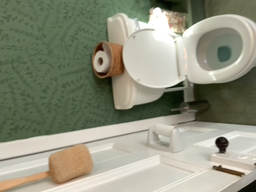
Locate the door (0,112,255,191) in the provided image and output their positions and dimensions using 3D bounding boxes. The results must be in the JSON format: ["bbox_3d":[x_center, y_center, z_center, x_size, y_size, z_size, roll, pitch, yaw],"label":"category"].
[{"bbox_3d":[-0.060,0.270,0.800,0.770,2.180,0.100,2,96,53],"label":"door"}]
